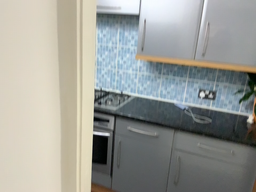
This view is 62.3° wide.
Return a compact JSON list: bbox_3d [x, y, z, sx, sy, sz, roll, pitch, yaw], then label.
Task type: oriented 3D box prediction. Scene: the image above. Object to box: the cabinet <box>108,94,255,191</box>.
[{"bbox_3d":[0.520,0.600,1.960,1.230,0.920,0.610,10,18,18],"label":"cabinet"}]
